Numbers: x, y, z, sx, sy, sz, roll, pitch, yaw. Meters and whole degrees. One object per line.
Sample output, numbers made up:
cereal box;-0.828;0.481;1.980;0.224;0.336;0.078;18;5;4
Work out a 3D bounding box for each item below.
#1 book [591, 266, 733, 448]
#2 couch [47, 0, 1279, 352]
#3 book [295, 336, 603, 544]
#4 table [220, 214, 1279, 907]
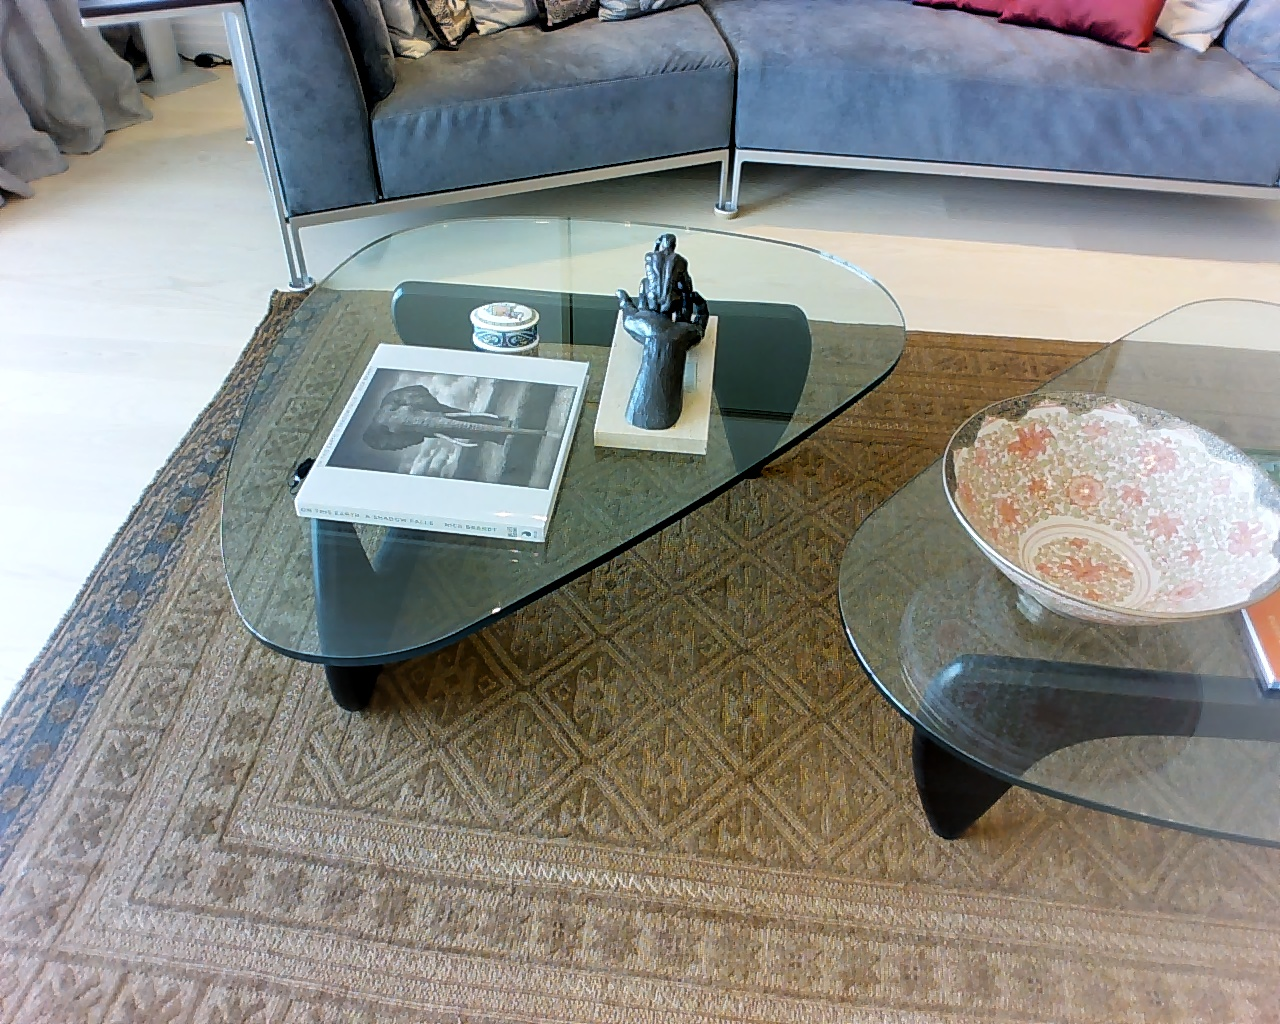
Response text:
book;0.040;-0.250;1.680;0.200;0.090;0.340;4;43;1
couch;0.410;-1.280;2.820;3.190;0.820;1.440;6;43;3
book;-0.260;-0.120;1.590;0.370;0.030;0.400;5;43;2
table;0.380;0.020;1.730;1.690;0.440;0.930;6;43;3
